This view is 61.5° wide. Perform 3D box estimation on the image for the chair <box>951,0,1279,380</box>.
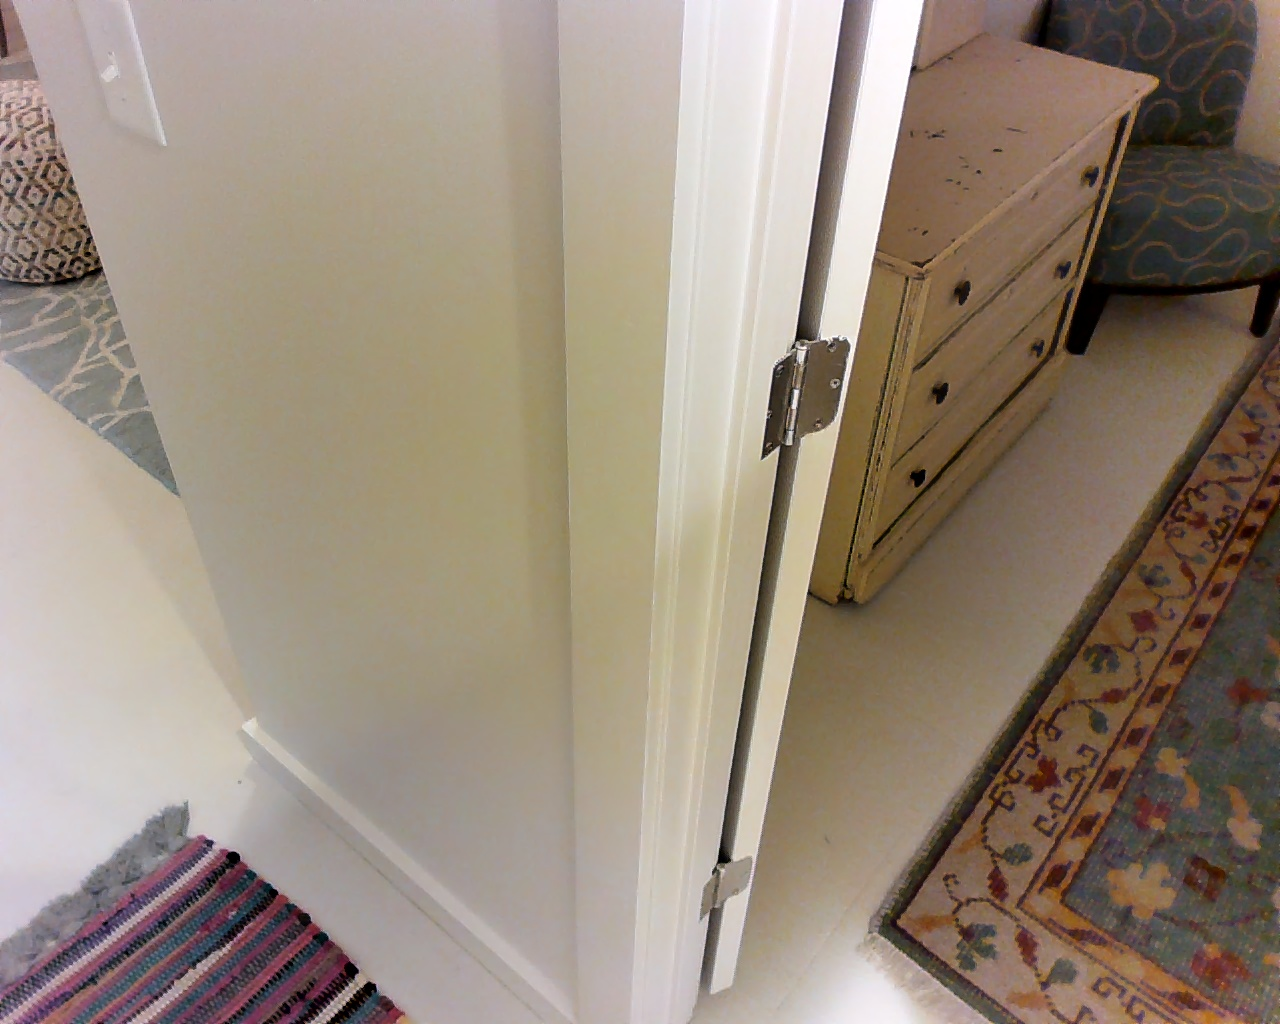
[{"bbox_3d":[1.400,-0.950,2.840,0.680,0.790,0.860,-6,43,-9],"label":"chair"}]
